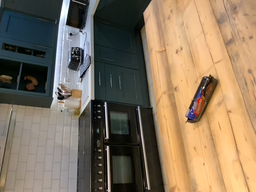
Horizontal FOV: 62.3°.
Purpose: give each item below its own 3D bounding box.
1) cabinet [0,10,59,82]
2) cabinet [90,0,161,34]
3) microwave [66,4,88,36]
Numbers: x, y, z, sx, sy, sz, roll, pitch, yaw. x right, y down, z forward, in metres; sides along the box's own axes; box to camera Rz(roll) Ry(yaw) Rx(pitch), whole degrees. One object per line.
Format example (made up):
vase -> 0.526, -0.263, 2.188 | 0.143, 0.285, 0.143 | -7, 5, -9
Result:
cabinet -> -1.480, -0.710, 3.060 | 0.340, 0.820, 0.820 | -45, 43, 52
cabinet -> -0.070, -1.520, 3.340 | 0.580, 0.910, 0.600 | -45, 43, 52
microwave -> -0.860, -1.270, 3.560 | 0.300, 0.250, 0.430 | 39, 118, 61
